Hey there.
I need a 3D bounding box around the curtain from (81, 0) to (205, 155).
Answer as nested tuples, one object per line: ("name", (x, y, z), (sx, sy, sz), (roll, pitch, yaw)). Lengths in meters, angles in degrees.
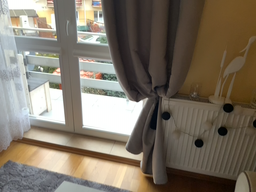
("curtain", (0.100, -0.710, 1.230), (0.680, 2.290, 0.310), (8, 26, 10))
